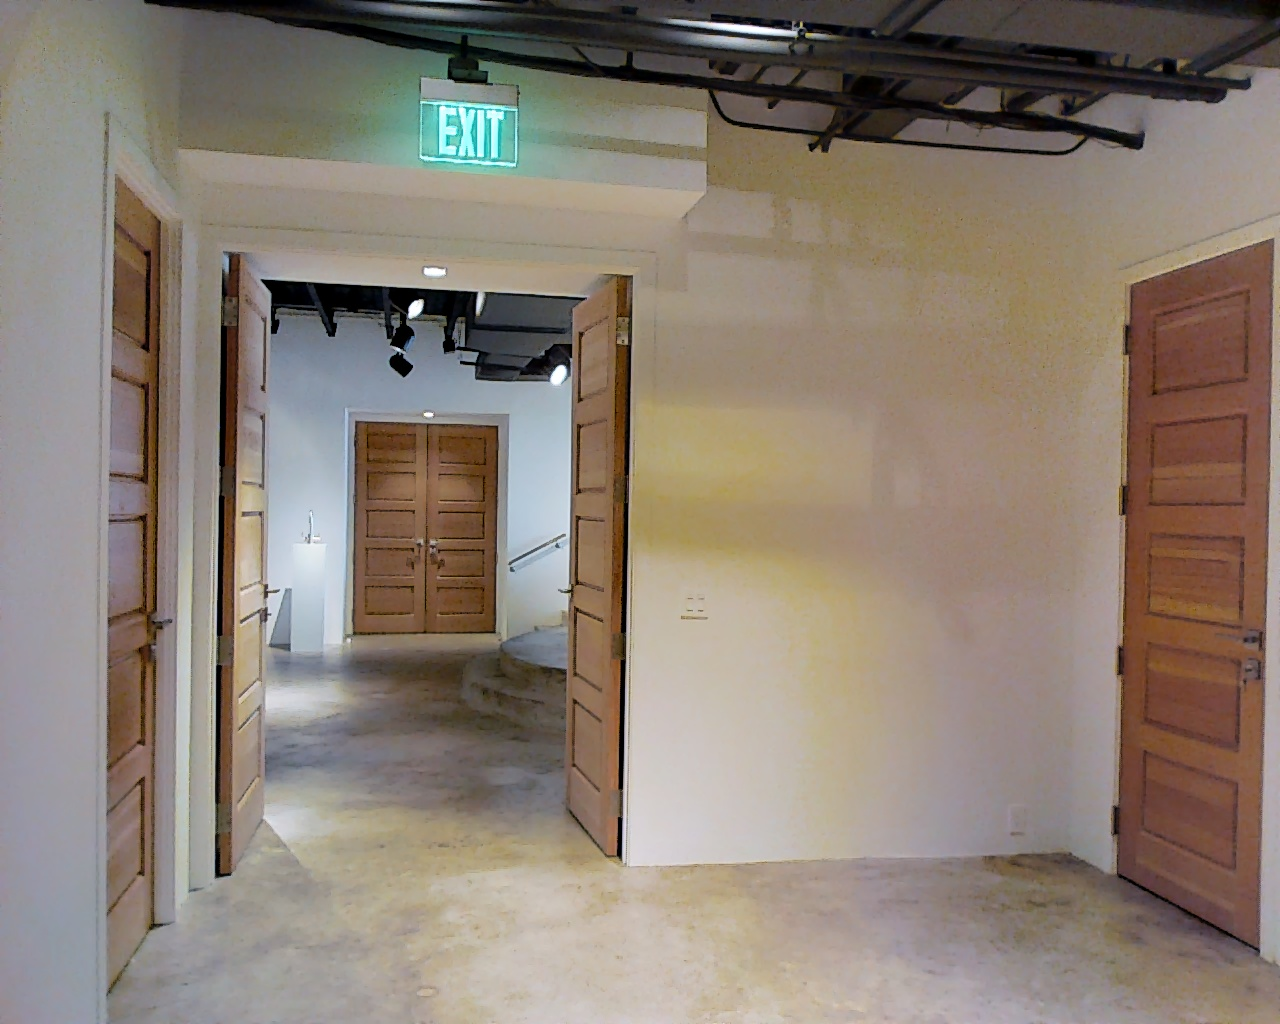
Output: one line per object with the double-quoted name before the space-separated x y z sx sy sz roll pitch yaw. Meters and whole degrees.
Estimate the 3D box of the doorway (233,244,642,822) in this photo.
"doorway" -0.930 0.110 5.090 1.810 2.580 0.270 1 0 -11

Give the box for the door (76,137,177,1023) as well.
"door" -1.570 0.200 3.320 0.040 2.440 0.810 1 0 -11

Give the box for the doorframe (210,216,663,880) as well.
"doorframe" -0.860 0.150 4.700 1.710 2.520 0.960 1 0 -11

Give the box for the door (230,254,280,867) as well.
"door" -1.630 0.190 4.570 0.030 2.400 0.750 1 0 -10

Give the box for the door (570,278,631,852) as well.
"door" -0.190 0.220 4.870 0.060 2.410 0.740 1 0 -16
